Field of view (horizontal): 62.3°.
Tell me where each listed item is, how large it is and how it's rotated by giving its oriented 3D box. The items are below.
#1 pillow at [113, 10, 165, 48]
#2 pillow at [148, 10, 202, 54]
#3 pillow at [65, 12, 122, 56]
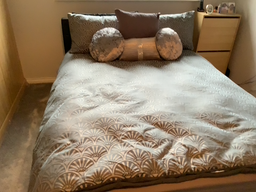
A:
[{"bbox_3d":[0.100,-0.680,2.150,0.470,0.330,0.180,-5,29,-13],"label":"pillow"},{"bbox_3d":[0.510,-0.710,2.370,0.470,0.420,0.260,-3,27,-14],"label":"pillow"},{"bbox_3d":[-0.350,-0.640,2.180,0.530,0.400,0.250,-2,23,-10],"label":"pillow"}]
